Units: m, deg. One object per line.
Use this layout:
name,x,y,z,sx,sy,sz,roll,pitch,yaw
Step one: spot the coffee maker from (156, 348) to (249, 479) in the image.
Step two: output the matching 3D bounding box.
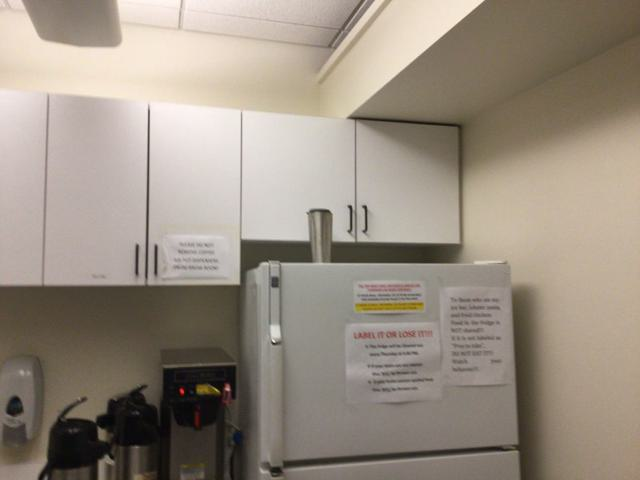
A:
coffee maker,-0.380,0.610,1.820,0.250,0.490,0.360,0,-5,-17

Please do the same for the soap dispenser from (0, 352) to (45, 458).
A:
soap dispenser,-1.020,0.540,1.910,0.180,0.320,0.100,0,-5,-17

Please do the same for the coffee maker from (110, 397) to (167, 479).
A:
coffee maker,-0.570,0.670,1.820,0.160,0.300,0.200,0,-5,-17
